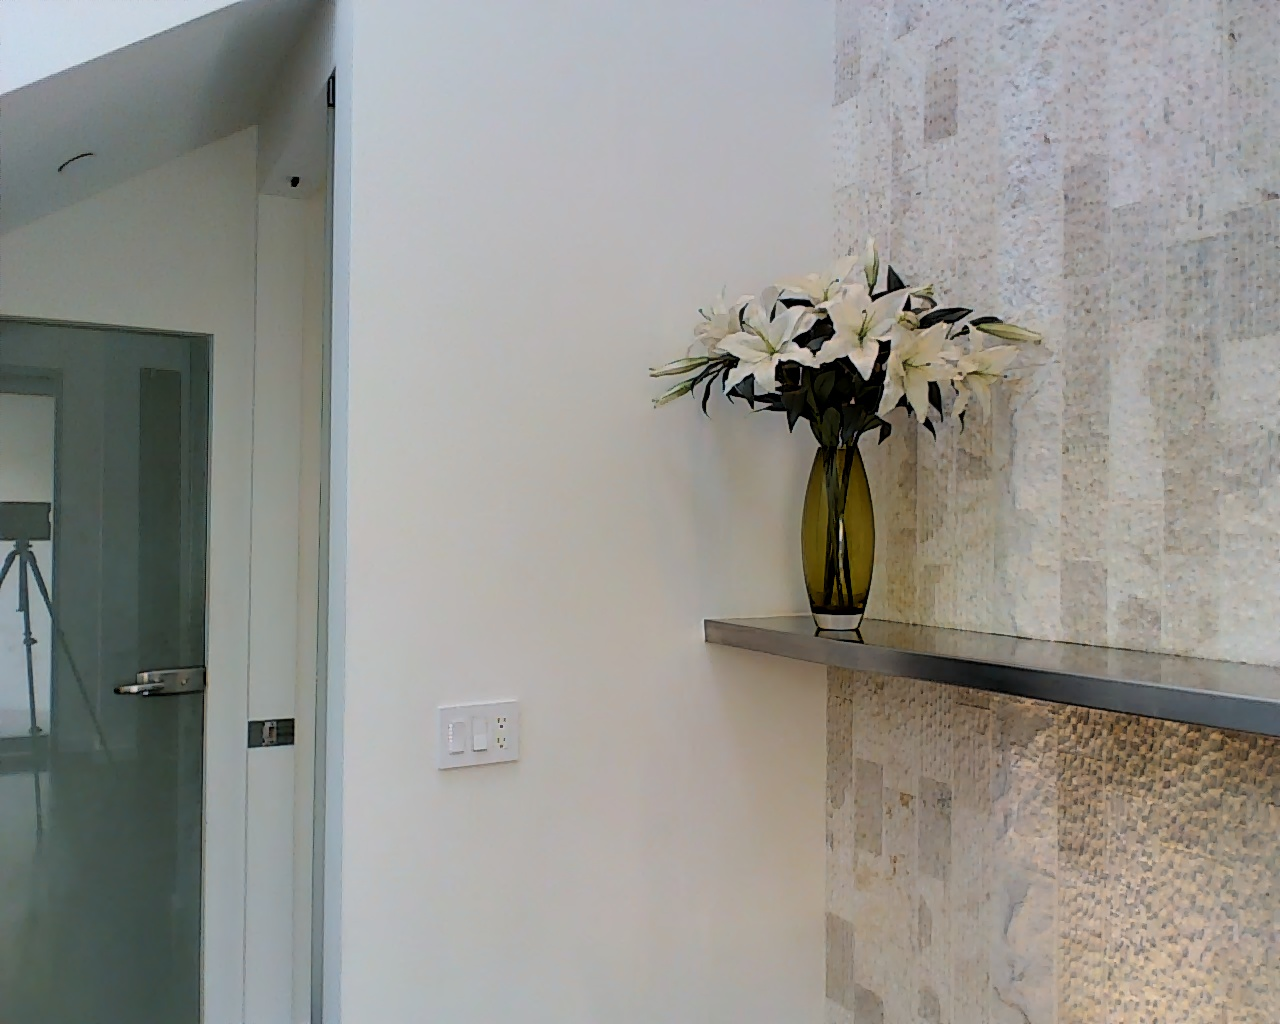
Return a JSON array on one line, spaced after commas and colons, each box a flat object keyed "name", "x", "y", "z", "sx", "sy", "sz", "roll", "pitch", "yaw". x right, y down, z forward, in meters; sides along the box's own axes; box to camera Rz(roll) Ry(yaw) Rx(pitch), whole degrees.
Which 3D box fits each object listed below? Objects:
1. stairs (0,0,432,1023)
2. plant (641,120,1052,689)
[{"name": "stairs", "x": -1.320, "y": -0.130, "z": 1.760, "sx": 1.890, "sy": 2.970, "sz": 0.360, "roll": 1, "pitch": -1, "yaw": -28}, {"name": "plant", "x": 0.380, "y": -0.170, "z": 2.140, "sx": 0.510, "sy": 0.920, "sz": 0.640, "roll": 1, "pitch": -1, "yaw": -28}]
